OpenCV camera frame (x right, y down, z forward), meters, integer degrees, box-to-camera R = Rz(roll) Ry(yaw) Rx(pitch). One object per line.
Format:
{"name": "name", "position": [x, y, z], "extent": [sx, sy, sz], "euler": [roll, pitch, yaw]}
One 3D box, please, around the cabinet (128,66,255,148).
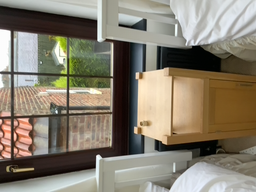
{"name": "cabinet", "position": [0.460, 0.050, 1.320], "extent": [0.390, 0.820, 0.370], "euler": [4, 93, 63]}

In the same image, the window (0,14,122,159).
{"name": "window", "position": [-0.680, -0.050, 1.310], "extent": [0.060, 1.380, 0.850], "euler": [5, 94, 62]}
